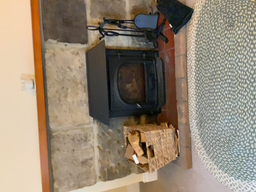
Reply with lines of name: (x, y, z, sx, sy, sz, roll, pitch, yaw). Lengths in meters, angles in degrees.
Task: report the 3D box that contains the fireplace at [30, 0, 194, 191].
fireplace: (-0.120, -0.110, 1.470, 0.510, 0.940, 1.710, -1, 92, 64)
